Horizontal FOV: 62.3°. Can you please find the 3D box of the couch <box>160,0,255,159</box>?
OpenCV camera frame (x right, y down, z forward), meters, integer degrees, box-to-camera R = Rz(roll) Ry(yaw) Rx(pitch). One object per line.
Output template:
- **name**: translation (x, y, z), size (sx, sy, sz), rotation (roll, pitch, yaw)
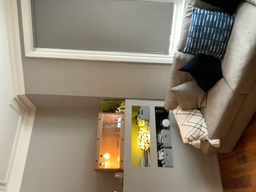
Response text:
- **couch**: translation (1.040, -0.610, 2.210), size (0.920, 0.810, 2.930), rotation (-91, 5, -51)
